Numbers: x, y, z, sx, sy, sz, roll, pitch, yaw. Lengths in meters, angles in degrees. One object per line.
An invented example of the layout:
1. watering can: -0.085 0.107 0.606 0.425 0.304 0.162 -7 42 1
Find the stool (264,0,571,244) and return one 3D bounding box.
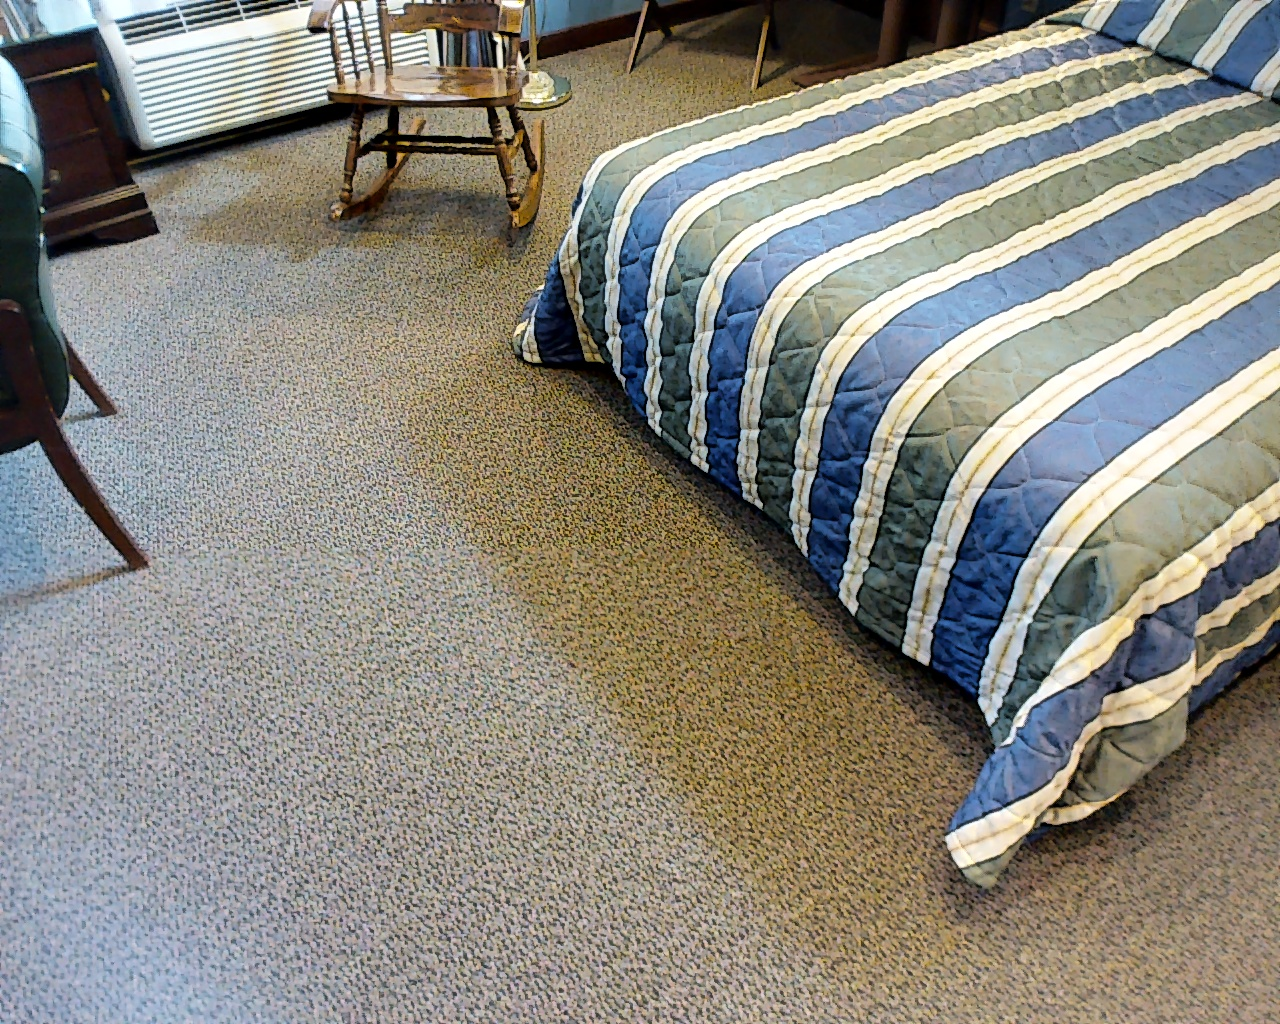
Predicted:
1. stool: -0.580 -1.490 3.040 0.590 1.060 0.980 3 43 4

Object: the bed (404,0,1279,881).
1. bed: 1.060 -0.670 2.450 2.560 0.680 1.750 -24 48 -23

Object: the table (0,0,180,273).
1. table: -1.780 -1.080 3.000 0.670 0.610 0.430 -29 50 -27
